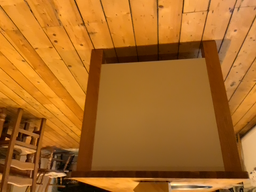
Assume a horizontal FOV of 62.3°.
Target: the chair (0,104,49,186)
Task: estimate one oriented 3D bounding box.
[{"bbox_3d":[-1.460,0.640,2.700,0.500,0.900,0.470,-11,151,23],"label":"chair"}]
